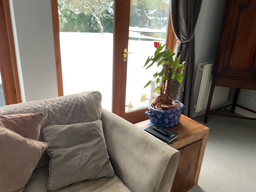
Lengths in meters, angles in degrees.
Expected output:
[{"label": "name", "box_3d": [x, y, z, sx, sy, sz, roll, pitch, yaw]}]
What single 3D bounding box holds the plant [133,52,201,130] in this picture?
[{"label": "plant", "box_3d": [0.300, -0.060, 1.700, 0.400, 0.510, 0.270, -11, 26, -31]}]
